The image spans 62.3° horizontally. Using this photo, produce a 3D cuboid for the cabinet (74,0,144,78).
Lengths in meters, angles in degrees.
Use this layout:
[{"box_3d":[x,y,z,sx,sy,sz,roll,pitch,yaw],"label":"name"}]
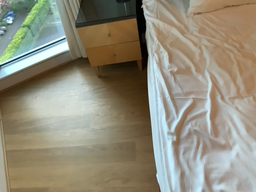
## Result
[{"box_3d":[-0.150,-0.600,2.080,0.510,0.610,0.490,-8,49,5],"label":"cabinet"}]
